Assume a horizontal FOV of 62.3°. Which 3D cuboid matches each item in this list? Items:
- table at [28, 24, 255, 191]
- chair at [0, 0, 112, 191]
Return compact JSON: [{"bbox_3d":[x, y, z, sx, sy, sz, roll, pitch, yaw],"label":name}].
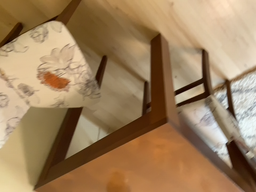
[{"bbox_3d":[0.140,0.330,1.440,0.970,0.780,0.950,-34,120,30],"label":"table"},{"bbox_3d":[-0.470,-0.070,1.030,0.570,0.950,0.470,-7,130,11],"label":"chair"}]
